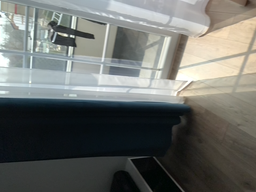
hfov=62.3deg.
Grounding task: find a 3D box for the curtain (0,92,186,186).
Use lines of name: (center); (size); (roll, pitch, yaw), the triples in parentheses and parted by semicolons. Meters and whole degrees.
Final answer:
curtain: (-0.700, 0.330, 1.560); (0.120, 2.560, 0.750); (53, 132, 48)
